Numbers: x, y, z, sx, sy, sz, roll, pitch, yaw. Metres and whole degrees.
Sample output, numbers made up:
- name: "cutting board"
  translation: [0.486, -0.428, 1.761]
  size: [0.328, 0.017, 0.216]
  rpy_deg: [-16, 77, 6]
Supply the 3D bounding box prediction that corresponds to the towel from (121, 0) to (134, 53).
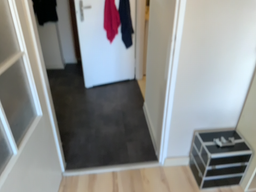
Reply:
- name: "towel"
  translation: [-0.010, -0.940, 2.730]
  size: [0.150, 0.760, 0.070]
  rpy_deg: [-12, 34, -21]
